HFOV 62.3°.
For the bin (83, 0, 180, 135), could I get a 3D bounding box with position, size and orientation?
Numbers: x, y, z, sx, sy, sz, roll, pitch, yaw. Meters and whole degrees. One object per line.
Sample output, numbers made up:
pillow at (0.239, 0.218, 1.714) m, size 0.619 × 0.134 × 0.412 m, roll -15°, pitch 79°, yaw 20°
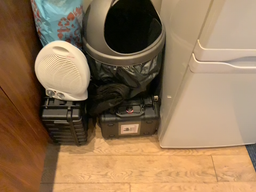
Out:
bin at (-0.010, -0.150, 1.100) m, size 0.320 × 0.670 × 0.460 m, roll -1°, pitch 56°, yaw -3°
